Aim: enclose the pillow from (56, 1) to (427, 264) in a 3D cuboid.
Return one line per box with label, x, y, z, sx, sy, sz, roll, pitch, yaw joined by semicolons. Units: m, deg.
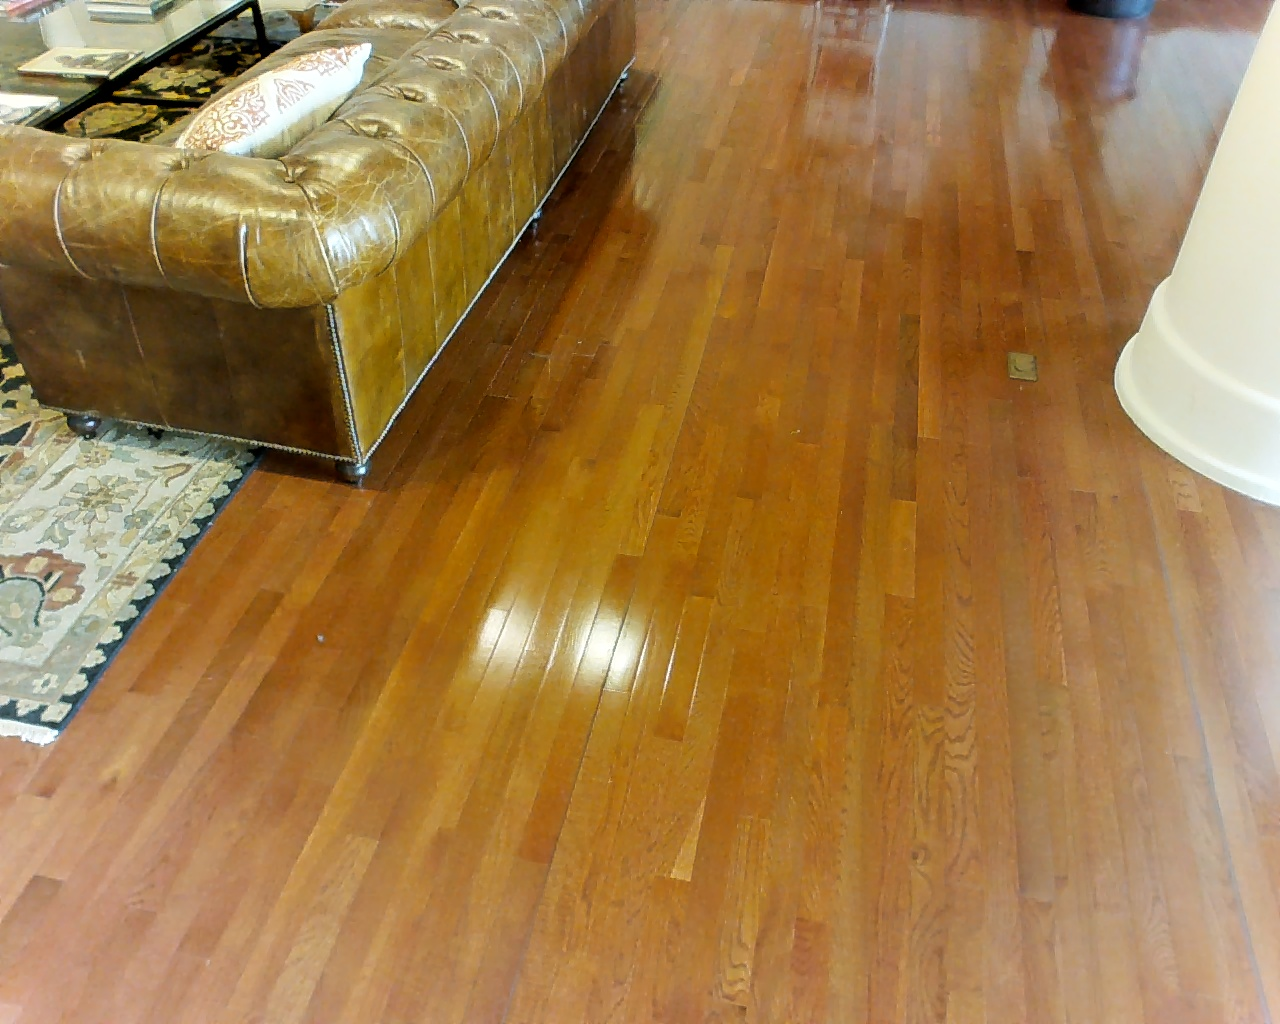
pillow;-0.840;-0.860;2.380;0.480;0.310;0.570;13;43;14
